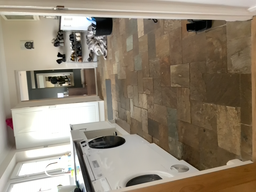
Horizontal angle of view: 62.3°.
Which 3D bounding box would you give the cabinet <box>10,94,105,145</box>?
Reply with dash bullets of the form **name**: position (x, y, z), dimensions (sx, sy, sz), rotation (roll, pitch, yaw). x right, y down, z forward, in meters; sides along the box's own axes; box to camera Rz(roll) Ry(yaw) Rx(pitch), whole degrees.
- **cabinet**: position (-1.700, 0.530, 5.360), dimensions (0.610, 2.070, 0.920), rotation (-159, 66, -70)
